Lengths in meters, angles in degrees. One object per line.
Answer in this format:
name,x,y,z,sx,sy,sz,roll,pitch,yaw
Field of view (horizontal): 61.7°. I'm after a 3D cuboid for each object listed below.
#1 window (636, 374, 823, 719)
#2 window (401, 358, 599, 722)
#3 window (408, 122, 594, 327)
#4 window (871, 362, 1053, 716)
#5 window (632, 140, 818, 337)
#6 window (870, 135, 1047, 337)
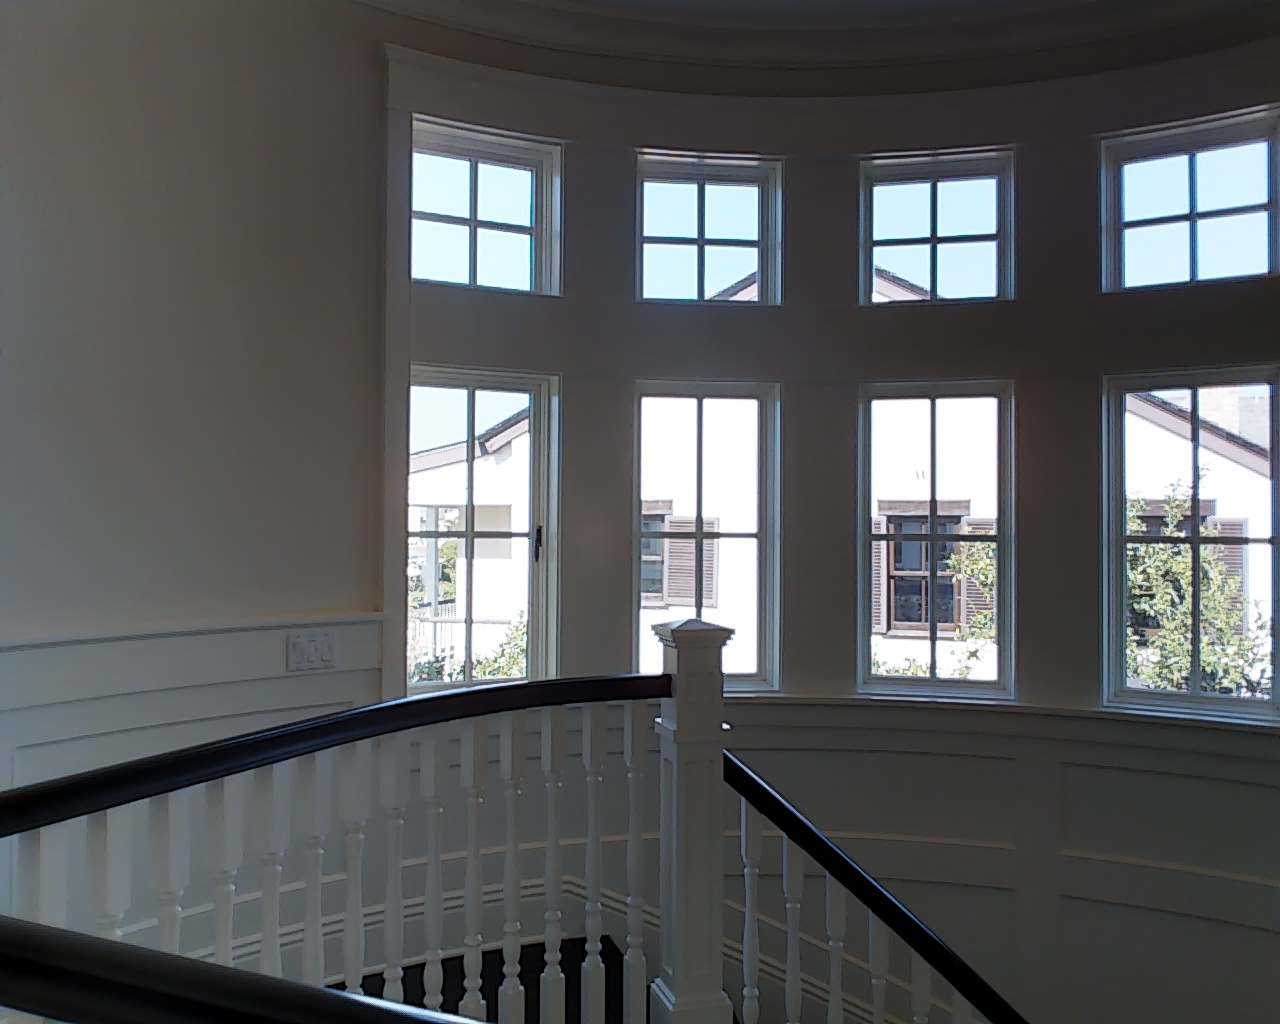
window,0.330,0.130,4.130,0.650,1.251,0.410,0,-1,-6
window,-0.520,0.100,3.930,0.630,1.231,0.430,1,-1,-21
window,-0.520,-1.040,3.980,0.590,0.610,0.360,-1,-2,-24
window,1.209,0.100,4.100,0.630,1.261,0.440,0,-1,13
window,0.320,-1.040,4.150,0.650,0.640,0.350,0,-1,-9
window,1.199,-1.030,4.080,0.620,0.650,0.300,0,-1,14
